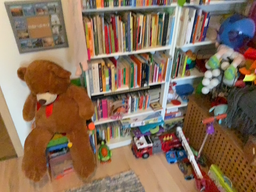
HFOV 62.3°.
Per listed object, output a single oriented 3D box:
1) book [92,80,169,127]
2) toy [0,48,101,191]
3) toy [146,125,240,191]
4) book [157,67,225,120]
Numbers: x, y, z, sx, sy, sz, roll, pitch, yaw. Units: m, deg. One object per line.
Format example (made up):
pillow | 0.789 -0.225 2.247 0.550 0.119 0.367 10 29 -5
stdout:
book | 0.020 0.060 1.910 0.650 0.280 0.170 -9 37 -16
toy | -0.530 0.250 1.590 0.540 1.050 0.490 -7 36 -14
toy | 0.500 0.600 1.800 0.390 0.170 0.770 -11 37 -18
book | 0.600 -0.030 2.080 0.520 0.370 0.250 -9 37 -16
